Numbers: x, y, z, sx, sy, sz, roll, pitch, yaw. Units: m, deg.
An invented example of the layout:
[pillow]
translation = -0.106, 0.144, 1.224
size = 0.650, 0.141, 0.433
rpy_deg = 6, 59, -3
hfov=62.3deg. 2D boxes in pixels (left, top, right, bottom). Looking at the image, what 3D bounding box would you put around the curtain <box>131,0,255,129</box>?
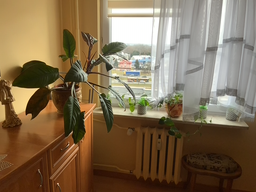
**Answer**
[curtain]
translation = 0.760, -0.590, 1.820
size = 1.370, 1.650, 0.330
rpy_deg = 4, 14, 9
